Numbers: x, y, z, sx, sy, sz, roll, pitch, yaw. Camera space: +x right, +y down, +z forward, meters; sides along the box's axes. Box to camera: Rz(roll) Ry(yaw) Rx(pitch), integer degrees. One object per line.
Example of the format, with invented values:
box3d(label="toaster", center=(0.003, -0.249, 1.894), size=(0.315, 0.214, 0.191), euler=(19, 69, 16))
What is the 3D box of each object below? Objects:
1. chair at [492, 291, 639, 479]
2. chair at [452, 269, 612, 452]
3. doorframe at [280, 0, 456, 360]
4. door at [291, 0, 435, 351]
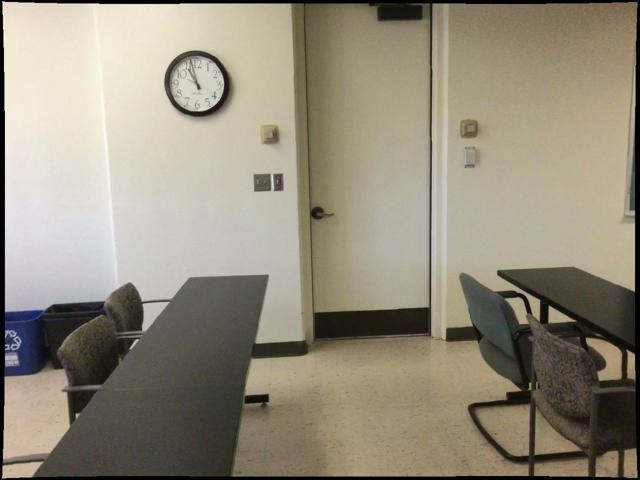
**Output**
box3d(label="chair", center=(1.097, 0.652, 2.210), size=(0.648, 0.772, 0.640), euler=(-3, 5, -3))
box3d(label="chair", center=(0.997, 0.551, 2.820), size=(0.539, 0.682, 0.550), euler=(-3, 10, -5))
box3d(label="doorframe", center=(0.339, -0.431, 3.970), size=(1.097, 2.436, 0.380), euler=(-3, 10, -2))
box3d(label="door", center=(0.319, -0.421, 4.050), size=(0.918, 2.386, 0.200), euler=(-3, 10, -2))
